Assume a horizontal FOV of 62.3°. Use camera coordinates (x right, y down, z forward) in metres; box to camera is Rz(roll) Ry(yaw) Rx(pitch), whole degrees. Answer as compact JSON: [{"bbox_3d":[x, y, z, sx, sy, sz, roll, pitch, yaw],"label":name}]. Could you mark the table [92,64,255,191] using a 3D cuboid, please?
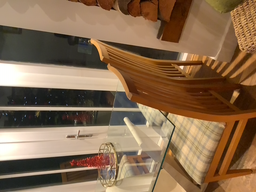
[{"bbox_3d":[0.240,0.560,1.800,0.790,0.720,1.400,-131,49,-56],"label":"table"}]
